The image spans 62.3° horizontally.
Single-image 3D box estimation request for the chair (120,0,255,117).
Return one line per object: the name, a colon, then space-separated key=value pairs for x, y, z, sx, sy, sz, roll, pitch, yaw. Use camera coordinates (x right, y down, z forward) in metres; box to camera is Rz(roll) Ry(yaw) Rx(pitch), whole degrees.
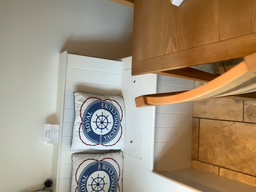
chair: x=0.530 y=-0.190 z=0.890 sx=0.450 sy=1.000 sz=0.450 roll=-27 pitch=65 yaw=48
